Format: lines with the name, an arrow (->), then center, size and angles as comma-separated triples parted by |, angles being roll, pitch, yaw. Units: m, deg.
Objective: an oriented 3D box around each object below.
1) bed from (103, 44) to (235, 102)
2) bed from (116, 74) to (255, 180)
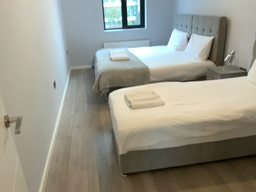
bed -> 0.580, -0.600, 4.320 | 2.080, 0.540, 1.950 | -5, 22, -6
bed -> 0.920, 0.220, 2.340 | 2.000, 0.550, 1.000 | -5, 22, -6
